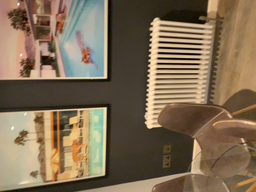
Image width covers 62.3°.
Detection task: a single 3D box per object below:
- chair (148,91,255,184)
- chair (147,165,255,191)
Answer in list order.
[{"bbox_3d":[0.650,0.290,1.600,0.440,0.800,0.470,111,150,-48],"label":"chair"},{"bbox_3d":[0.640,0.840,1.680,0.530,0.780,0.420,145,121,-67],"label":"chair"}]
